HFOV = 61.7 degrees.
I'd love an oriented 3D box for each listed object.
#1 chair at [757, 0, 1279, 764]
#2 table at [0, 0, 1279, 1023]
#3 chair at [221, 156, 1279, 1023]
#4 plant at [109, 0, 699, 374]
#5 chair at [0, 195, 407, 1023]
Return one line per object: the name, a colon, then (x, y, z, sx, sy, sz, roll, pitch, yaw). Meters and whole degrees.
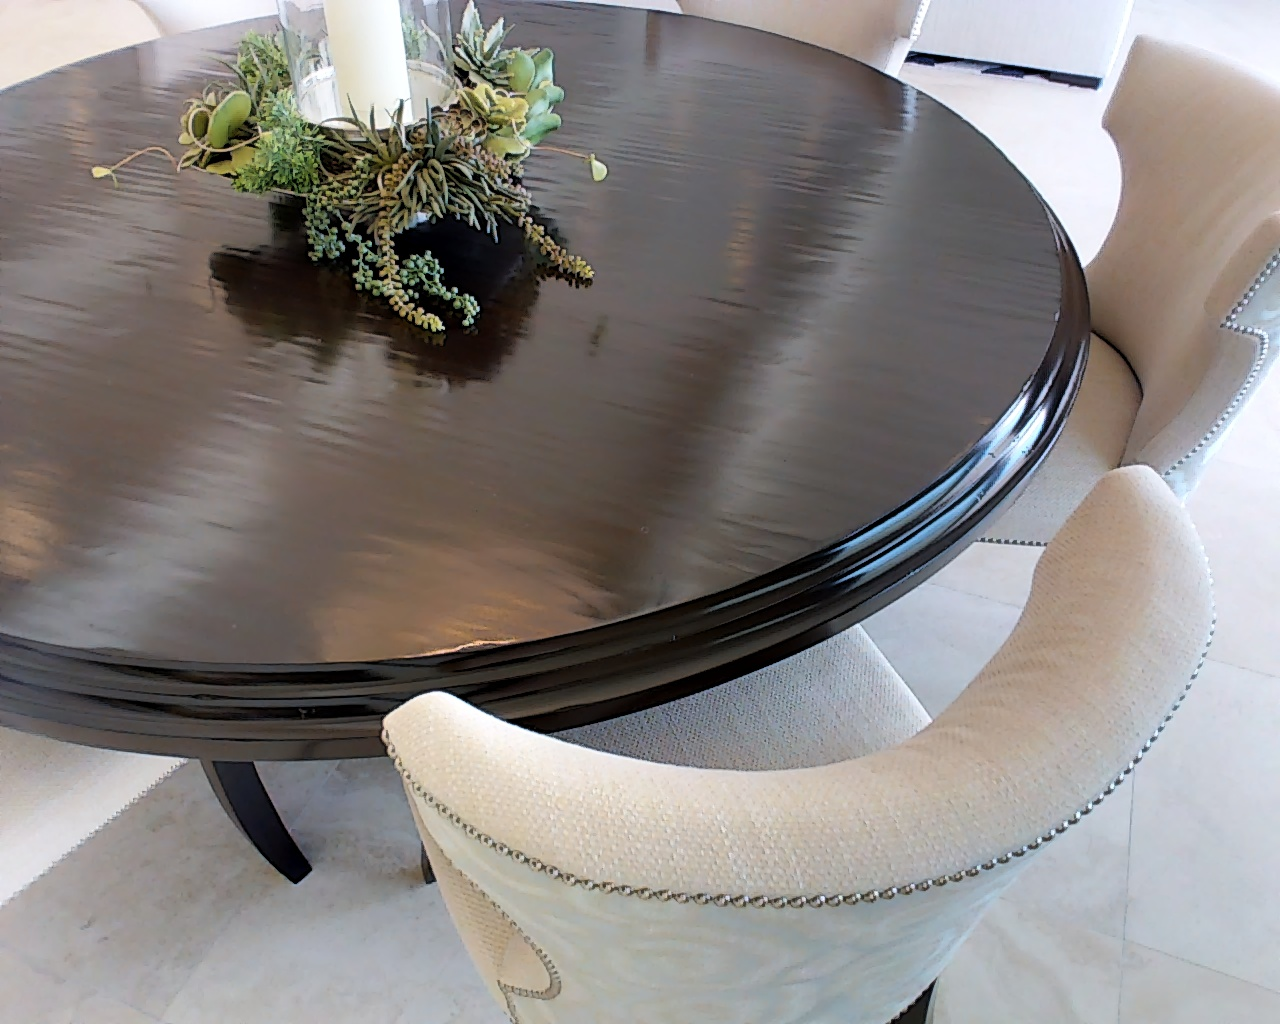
chair: (0.640, -0.210, 1.750, 0.800, 0.940, 0.730, 5, 42, 5)
table: (-0.310, -0.220, 1.890, 2.060, 0.780, 2.060, 0, 42, -1)
chair: (0.080, 0.300, 1.210, 0.720, 0.990, 0.850, -16, 44, -17)
plant: (-0.350, -0.550, 1.540, 0.580, 0.240, 0.680, -22, 46, -23)
chair: (-0.900, 0.250, 1.250, 0.780, 0.990, 0.780, 29, 49, 29)
